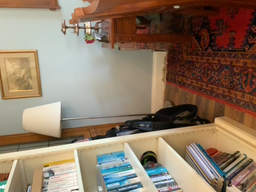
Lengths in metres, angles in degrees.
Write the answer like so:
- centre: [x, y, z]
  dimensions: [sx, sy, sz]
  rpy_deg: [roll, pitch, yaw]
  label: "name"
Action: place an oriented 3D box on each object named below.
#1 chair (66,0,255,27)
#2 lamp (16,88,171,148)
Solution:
- centre: [0.190, -0.720, 1.280]
  dimensions: [0.500, 1.090, 0.530]
  rpy_deg: [-141, 49, -68]
  label: "chair"
- centre: [-0.300, 0.190, 2.230]
  dimensions: [0.340, 1.490, 0.380]
  rpy_deg: [-144, 51, -69]
  label: "lamp"
